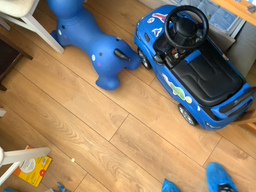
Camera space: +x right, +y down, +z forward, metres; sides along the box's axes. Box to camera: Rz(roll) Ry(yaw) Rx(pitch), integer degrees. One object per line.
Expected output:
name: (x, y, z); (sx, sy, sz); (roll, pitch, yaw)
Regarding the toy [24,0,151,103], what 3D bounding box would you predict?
toy: (-0.170, -0.280, 1.030); (0.300, 0.460, 0.480); (-36, 80, -5)
